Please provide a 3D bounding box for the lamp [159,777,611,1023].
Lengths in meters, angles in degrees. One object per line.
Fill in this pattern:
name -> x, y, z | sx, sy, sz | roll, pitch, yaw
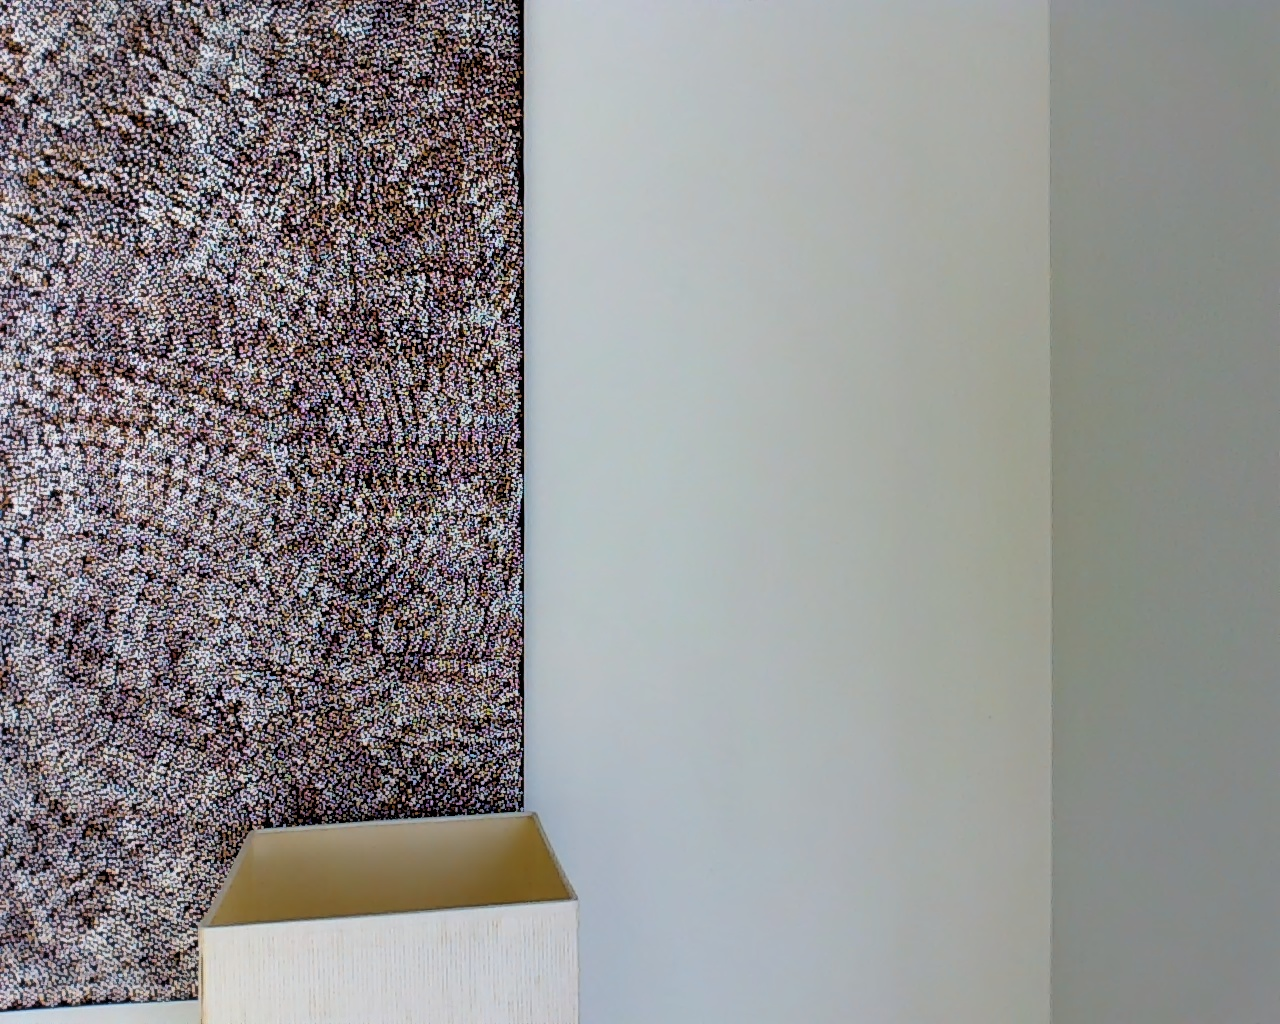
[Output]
lamp -> -0.180, 0.400, 0.840 | 0.280, 0.300, 0.330 | 0, -1, -7
